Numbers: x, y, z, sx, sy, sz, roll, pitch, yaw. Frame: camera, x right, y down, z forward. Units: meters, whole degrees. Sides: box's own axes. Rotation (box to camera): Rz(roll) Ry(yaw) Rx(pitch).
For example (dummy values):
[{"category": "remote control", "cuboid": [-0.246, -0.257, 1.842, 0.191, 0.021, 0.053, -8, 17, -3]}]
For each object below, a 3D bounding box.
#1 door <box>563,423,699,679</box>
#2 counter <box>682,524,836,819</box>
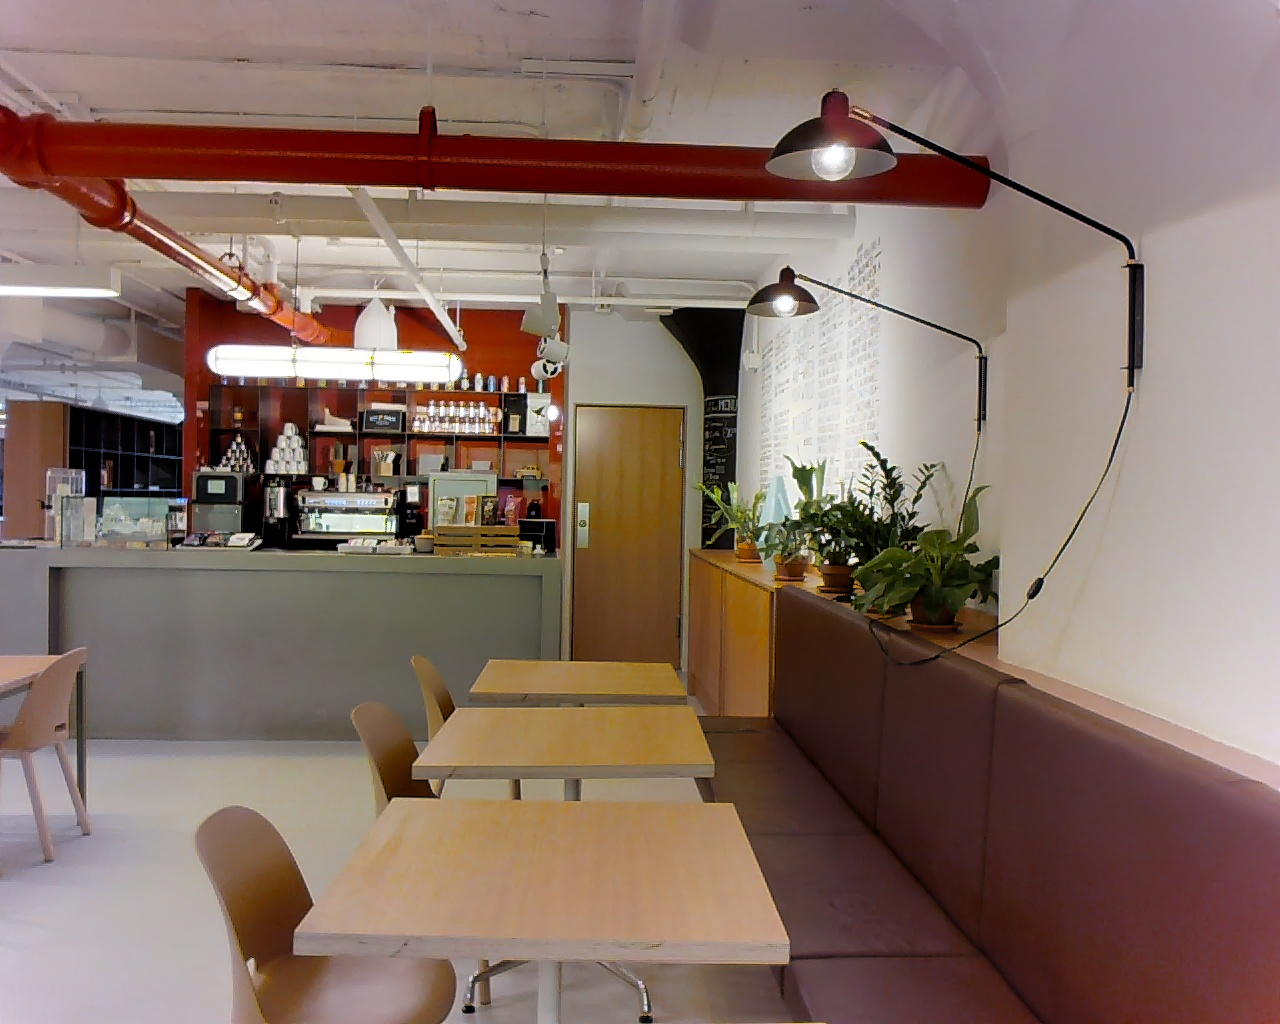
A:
[{"category": "door", "cuboid": [-0.080, 0.330, 9.030, 1.100, 2.120, 0.130, 1, 0, -4]}, {"category": "counter", "cuboid": [0.610, 0.750, 6.520, 0.330, 1.290, 3.210, 1, 0, -4]}]
